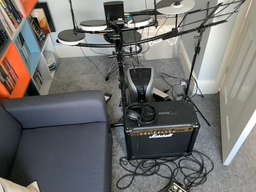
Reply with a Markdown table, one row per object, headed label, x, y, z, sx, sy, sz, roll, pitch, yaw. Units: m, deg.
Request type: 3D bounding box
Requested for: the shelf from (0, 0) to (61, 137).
| label | x | y | z | sx | sy | sz | roll | pitch | yaw |
| --- | --- | --- | --- | --- | --- | --- | --- | --- | --- |
| shelf | -0.950 | -0.530 | 1.620 | 0.300 | 1.360 | 1.100 | -3 | 47 | 0 |
